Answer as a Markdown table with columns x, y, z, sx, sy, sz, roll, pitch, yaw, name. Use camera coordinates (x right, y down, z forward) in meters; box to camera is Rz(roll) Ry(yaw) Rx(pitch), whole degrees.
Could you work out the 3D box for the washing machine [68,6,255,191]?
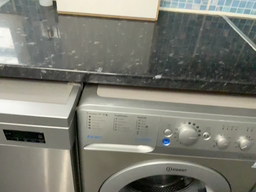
| x | y | z | sx | sy | sz | roll | pitch | yaw | name |
| --- | --- | --- | --- | --- | --- | --- | --- | --- | --- |
| 0.130 | 0.170 | 1.030 | 0.590 | 0.910 | 0.720 | 4 | 39 | -3 | washing machine |
